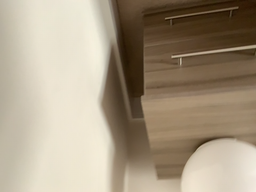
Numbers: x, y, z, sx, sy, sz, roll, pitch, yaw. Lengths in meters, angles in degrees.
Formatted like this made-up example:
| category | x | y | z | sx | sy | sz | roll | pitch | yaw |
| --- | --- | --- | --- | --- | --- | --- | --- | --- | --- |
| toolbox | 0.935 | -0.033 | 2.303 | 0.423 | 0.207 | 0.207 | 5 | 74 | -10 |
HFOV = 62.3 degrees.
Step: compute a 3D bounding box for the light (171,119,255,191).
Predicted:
| category | x | y | z | sx | sy | sz | roll | pitch | yaw |
| --- | --- | --- | --- | --- | --- | --- | --- | --- | --- |
| light | 0.260 | 0.240 | 0.530 | 0.250 | 0.240 | 0.280 | 0 | 135 | 3 |
